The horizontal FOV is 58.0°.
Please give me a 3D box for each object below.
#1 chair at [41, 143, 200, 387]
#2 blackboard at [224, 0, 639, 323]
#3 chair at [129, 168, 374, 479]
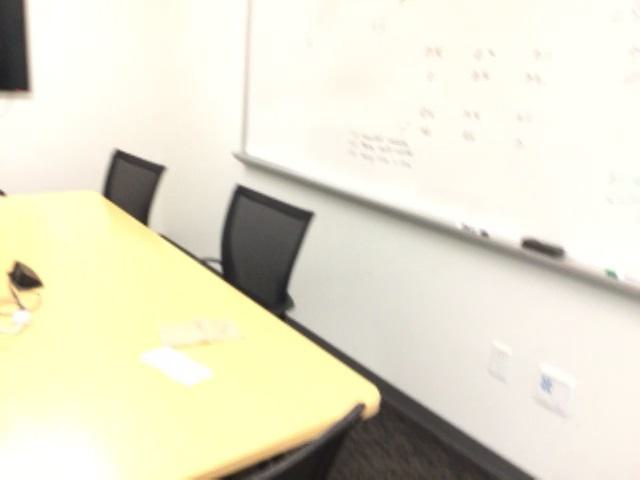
[{"bbox_3d":[-0.860,0.070,2.510,0.470,0.890,0.480,-10,23,-40],"label":"chair"},{"bbox_3d":[0.410,-0.530,1.980,0.180,1.050,2.410,-10,23,-40],"label":"blackboard"},{"bbox_3d":[-0.270,0.280,2.020,0.550,0.930,0.600,-10,23,-40],"label":"chair"}]
